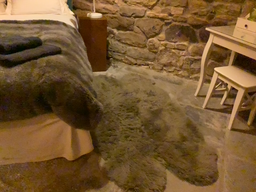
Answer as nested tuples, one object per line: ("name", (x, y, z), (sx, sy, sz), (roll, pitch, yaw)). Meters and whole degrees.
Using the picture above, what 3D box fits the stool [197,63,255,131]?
("stool", (0.970, -0.010, 1.990), (0.330, 0.440, 0.420), (-11, 34, -23))

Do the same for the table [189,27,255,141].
("table", (1.200, -0.170, 2.020), (0.610, 0.710, 0.930), (-11, 35, -24))
